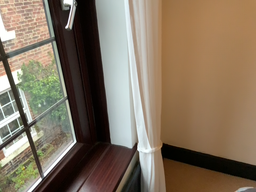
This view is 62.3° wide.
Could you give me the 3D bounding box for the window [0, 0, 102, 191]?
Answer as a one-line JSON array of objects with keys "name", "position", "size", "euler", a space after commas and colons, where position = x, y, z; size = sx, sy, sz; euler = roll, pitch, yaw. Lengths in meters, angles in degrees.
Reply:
[{"name": "window", "position": [-0.400, -0.210, 0.520], "size": [0.090, 1.590, 0.870], "euler": [10, 31, 22]}]
